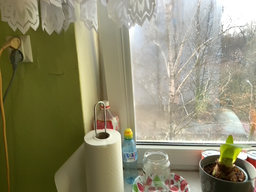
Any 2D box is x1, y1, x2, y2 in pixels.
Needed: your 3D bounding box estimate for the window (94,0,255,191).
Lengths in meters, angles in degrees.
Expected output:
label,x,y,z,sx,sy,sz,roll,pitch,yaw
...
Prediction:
label,x,y,z,sx,sy,sz,roll,pitch,yaw
window,0.320,-0.360,0.640,0.830,1.470,0.160,-1,13,5
